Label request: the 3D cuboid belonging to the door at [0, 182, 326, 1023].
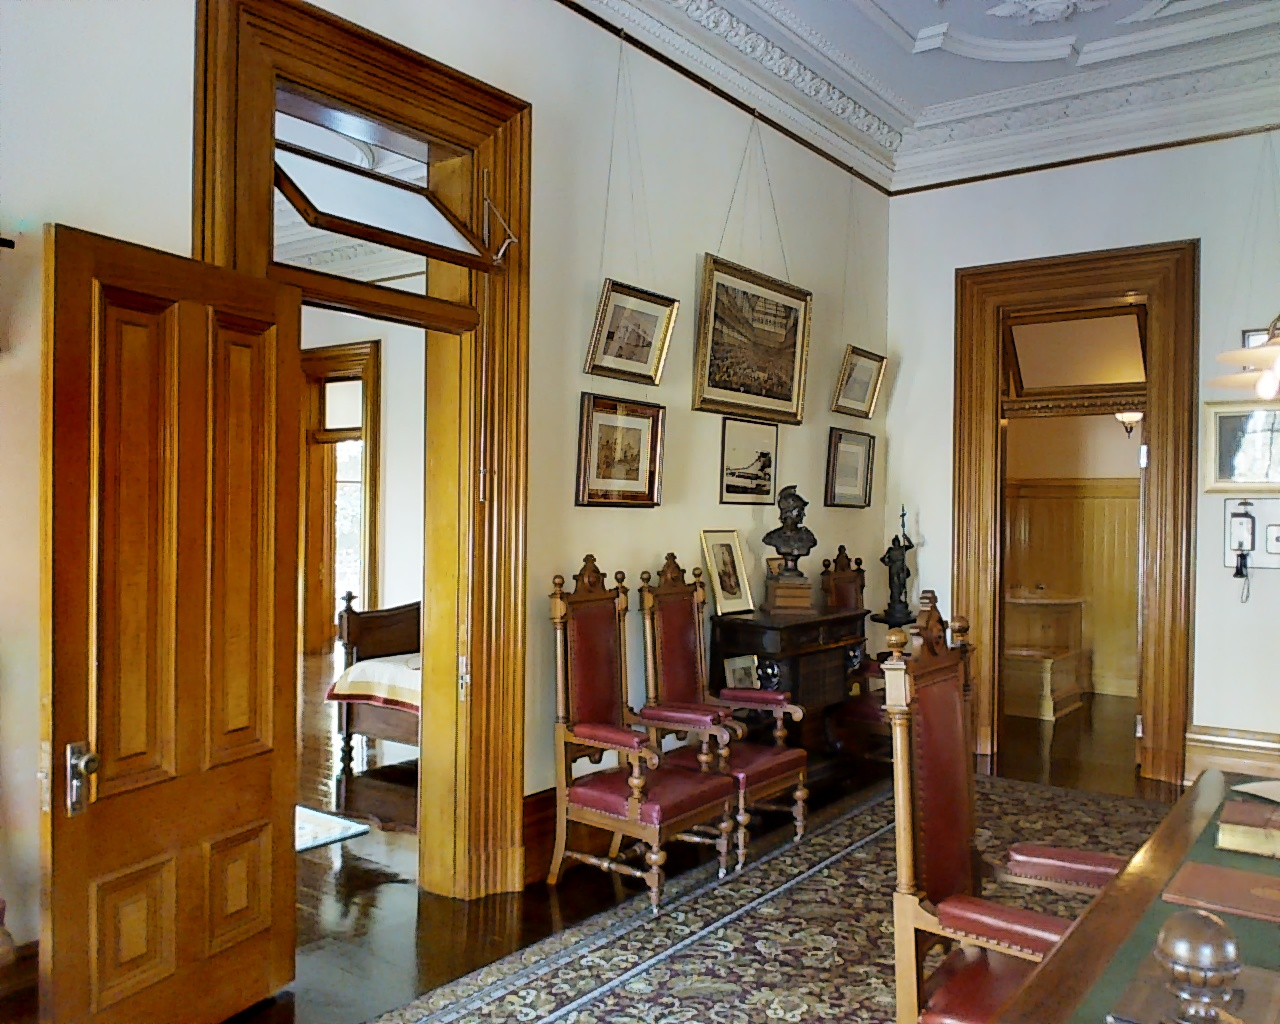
[{"bbox_3d":[-1.330,0.340,3.130,0.200,2.300,0.970,1,0,22],"label":"door"}]
